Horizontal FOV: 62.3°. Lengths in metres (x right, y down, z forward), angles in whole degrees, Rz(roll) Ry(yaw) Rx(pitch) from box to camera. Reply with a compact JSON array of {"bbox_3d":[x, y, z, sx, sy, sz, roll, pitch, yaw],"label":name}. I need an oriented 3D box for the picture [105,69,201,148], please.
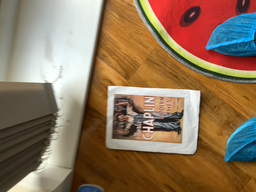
[{"bbox_3d":[0.080,0.040,0.700,0.300,0.050,0.250,-1,93,2],"label":"picture"}]
